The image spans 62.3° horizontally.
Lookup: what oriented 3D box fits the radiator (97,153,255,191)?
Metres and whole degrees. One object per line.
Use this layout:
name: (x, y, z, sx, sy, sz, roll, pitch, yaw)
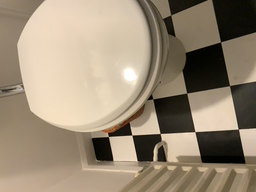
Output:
radiator: (0.140, 0.250, 0.500, 0.420, 0.430, 0.070, -8, 93, 36)
